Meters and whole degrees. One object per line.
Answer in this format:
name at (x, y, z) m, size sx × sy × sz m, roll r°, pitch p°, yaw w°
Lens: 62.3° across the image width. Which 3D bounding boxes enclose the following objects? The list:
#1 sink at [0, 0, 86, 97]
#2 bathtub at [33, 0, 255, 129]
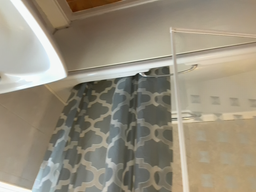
sink at (-0.450, -0.260, 0.650) m, size 0.410 × 0.210 × 0.610 m, roll -4°, pitch 147°, yaw 12°
bathtub at (0.340, -0.230, 1.390) m, size 1.540 × 0.570 × 0.700 m, roll -5°, pitch 146°, yaw 13°
